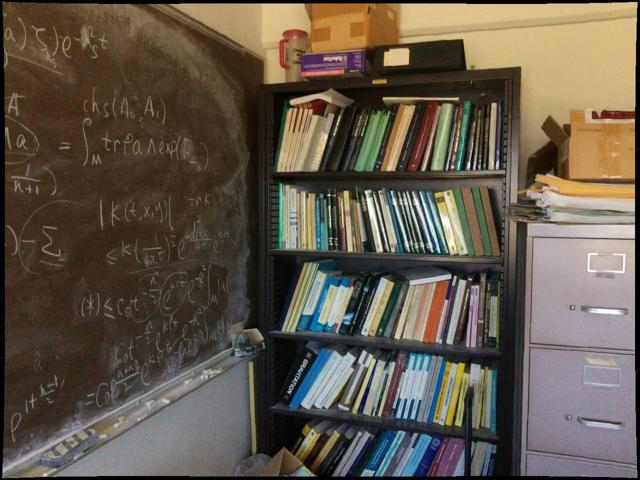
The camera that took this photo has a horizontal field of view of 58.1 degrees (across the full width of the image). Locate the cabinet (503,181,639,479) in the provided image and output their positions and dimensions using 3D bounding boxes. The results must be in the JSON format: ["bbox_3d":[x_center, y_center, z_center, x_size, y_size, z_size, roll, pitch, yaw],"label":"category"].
[{"bbox_3d":[0.848,0.632,1.810,0.499,1.604,0.780,0,4,19],"label":"cabinet"}]
